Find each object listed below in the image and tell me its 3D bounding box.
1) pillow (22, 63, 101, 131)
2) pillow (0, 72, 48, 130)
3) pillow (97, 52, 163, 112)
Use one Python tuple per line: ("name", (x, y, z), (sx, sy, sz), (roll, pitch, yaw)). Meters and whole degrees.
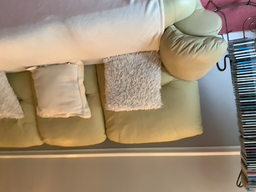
("pillow", (-0.470, 0.000, 1.580), (0.440, 0.470, 0.150), (-6, 141, 13))
("pillow", (-0.950, 0.050, 1.700), (0.470, 0.400, 0.180), (-6, 142, 13))
("pillow", (0.020, -0.090, 1.450), (0.400, 0.330, 0.170), (-5, 152, 12))
